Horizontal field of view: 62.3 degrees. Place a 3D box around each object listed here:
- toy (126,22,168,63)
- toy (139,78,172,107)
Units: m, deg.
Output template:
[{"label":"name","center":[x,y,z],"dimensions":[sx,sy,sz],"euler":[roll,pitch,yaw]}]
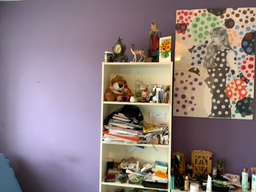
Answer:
[{"label":"toy","center":[0.180,-0.470,1.920],"dimensions":[0.350,0.310,0.260],"euler":[2,1,9]},{"label":"toy","center":[0.250,-0.030,1.900],"dimensions":[0.270,0.240,0.220],"euler":[2,1,10]}]
